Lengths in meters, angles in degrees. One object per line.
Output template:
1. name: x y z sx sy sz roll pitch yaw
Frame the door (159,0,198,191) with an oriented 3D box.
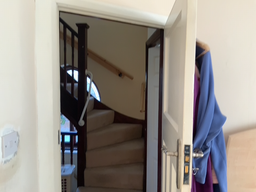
1. door: 0.230 0.560 1.170 0.050 2.020 0.710 1 5 3
